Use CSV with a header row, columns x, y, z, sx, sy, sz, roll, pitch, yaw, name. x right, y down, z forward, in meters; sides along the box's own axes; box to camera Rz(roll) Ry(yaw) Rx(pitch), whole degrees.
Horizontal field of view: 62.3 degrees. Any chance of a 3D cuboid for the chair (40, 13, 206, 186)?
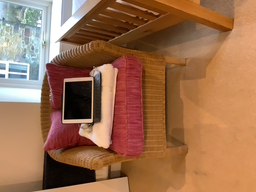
x,y,z,sx,sy,sz,roll,pitch,yaw,name
-0.110,0.060,1.420,0.860,0.750,0.710,-12,77,58,chair
